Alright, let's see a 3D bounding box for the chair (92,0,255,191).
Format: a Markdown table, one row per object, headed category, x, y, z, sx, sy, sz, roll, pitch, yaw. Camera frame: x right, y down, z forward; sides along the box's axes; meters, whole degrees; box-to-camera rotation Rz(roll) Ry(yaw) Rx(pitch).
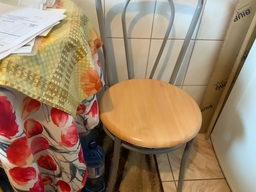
| category | x | y | z | sx | sy | sz | roll | pitch | yaw |
| --- | --- | --- | --- | --- | --- | --- | --- | --- | --- |
| chair | 0.070 | 0.040 | 0.840 | 0.380 | 0.790 | 0.460 | 0 | 39 | -7 |
